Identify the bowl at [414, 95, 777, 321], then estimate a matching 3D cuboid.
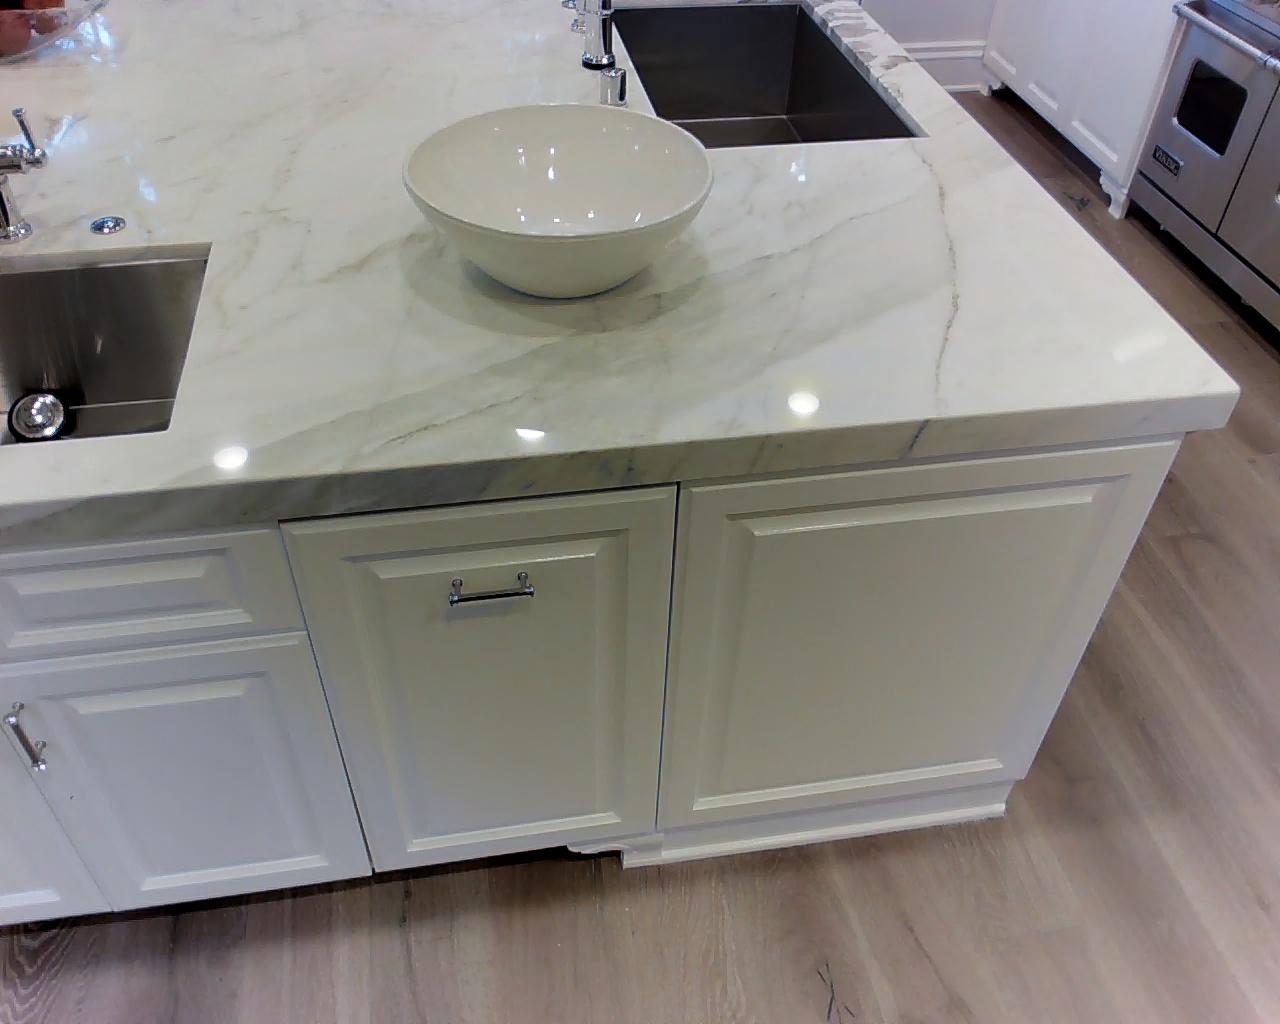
[{"bbox_3d":[-0.080,-0.430,1.470,0.430,0.100,0.410,-6,43,-8],"label":"bowl"}]
